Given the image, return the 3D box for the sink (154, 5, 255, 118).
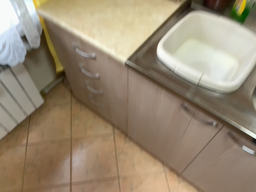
[{"bbox_3d":[0.370,-0.170,0.970,0.330,0.210,0.370,34,63,19],"label":"sink"}]
